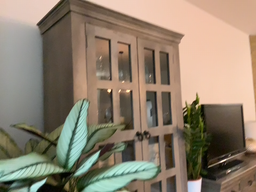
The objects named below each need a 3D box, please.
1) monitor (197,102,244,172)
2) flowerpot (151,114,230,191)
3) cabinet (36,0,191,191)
[{"bbox_3d":[1.100,0.420,2.450,0.980,0.690,0.060,3,-6,-42],"label":"monitor"},{"bbox_3d":[0.560,0.570,1.960,0.380,0.790,0.540,1,-4,-40],"label":"flowerpot"},{"bbox_3d":[-0.050,0.560,1.490,0.960,2.100,0.490,1,-5,-42],"label":"cabinet"}]
